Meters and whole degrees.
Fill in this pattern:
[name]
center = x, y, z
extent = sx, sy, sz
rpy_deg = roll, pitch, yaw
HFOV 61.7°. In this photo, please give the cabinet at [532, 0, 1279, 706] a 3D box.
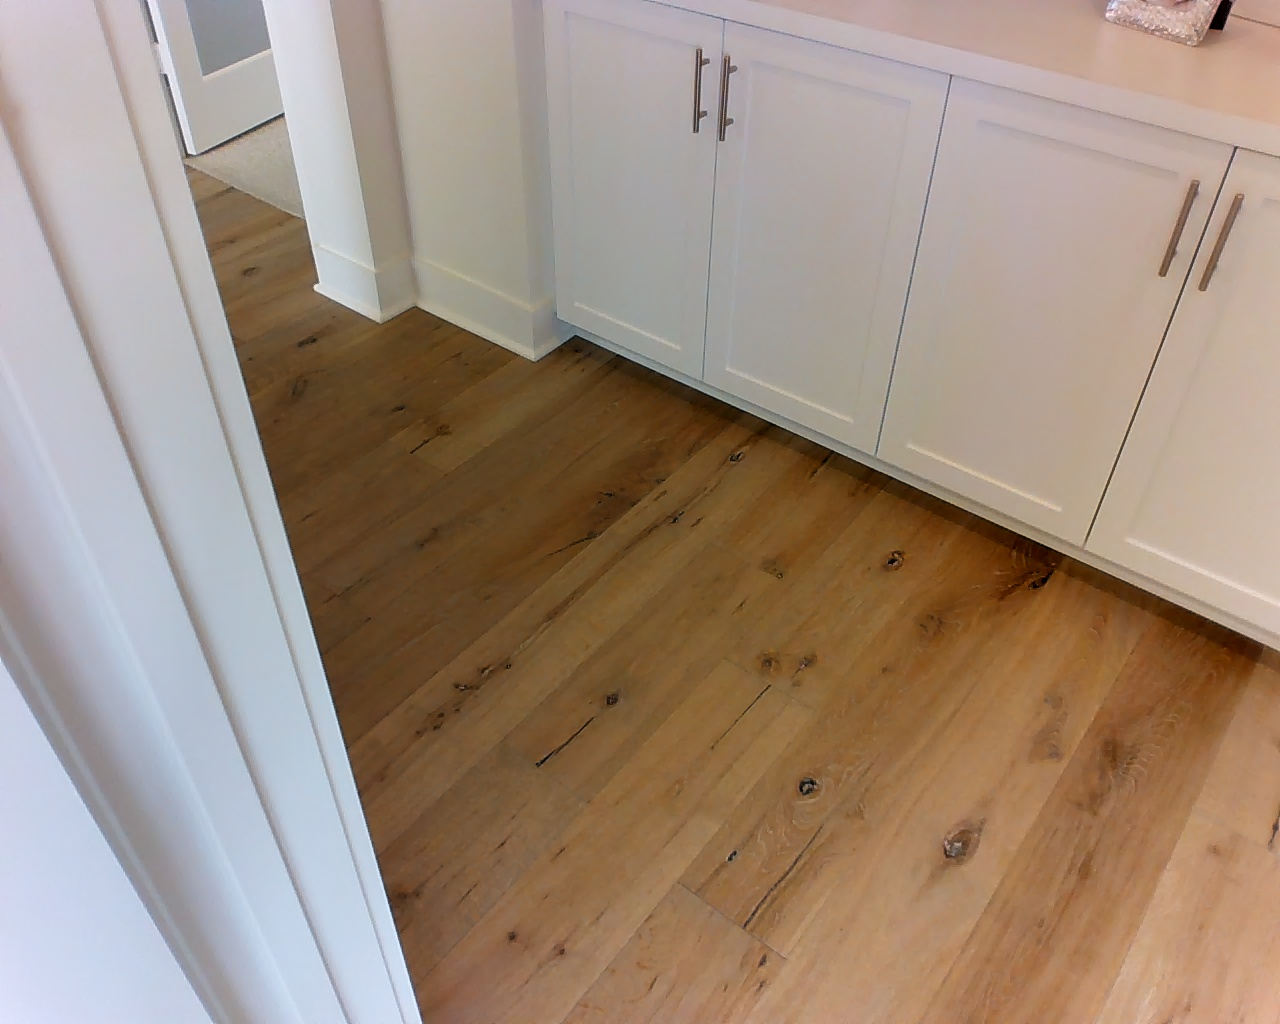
[cabinet]
center = 0.700, -0.530, 2.130
extent = 1.800, 0.960, 0.680
rpy_deg = 28, 48, 28
